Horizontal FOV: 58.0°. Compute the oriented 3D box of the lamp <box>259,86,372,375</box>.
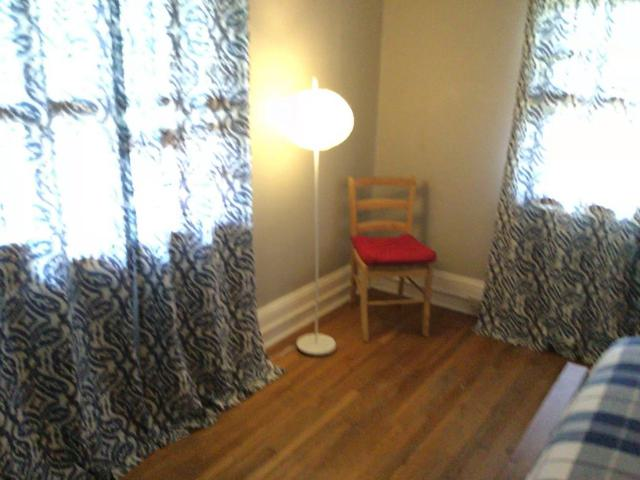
[{"bbox_3d":[-0.020,-0.060,2.970,0.400,1.390,0.370,12,21,34],"label":"lamp"}]

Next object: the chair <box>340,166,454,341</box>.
[{"bbox_3d":[0.420,0.050,3.430,0.510,0.870,0.620,-2,17,-6],"label":"chair"}]

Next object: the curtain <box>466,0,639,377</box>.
[{"bbox_3d":[1.550,-0.400,2.710,1.560,2.140,0.250,13,22,36],"label":"curtain"}]

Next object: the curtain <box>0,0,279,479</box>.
[{"bbox_3d":[-0.730,-0.130,2.190,0.210,2.130,1.480,12,21,34],"label":"curtain"}]
